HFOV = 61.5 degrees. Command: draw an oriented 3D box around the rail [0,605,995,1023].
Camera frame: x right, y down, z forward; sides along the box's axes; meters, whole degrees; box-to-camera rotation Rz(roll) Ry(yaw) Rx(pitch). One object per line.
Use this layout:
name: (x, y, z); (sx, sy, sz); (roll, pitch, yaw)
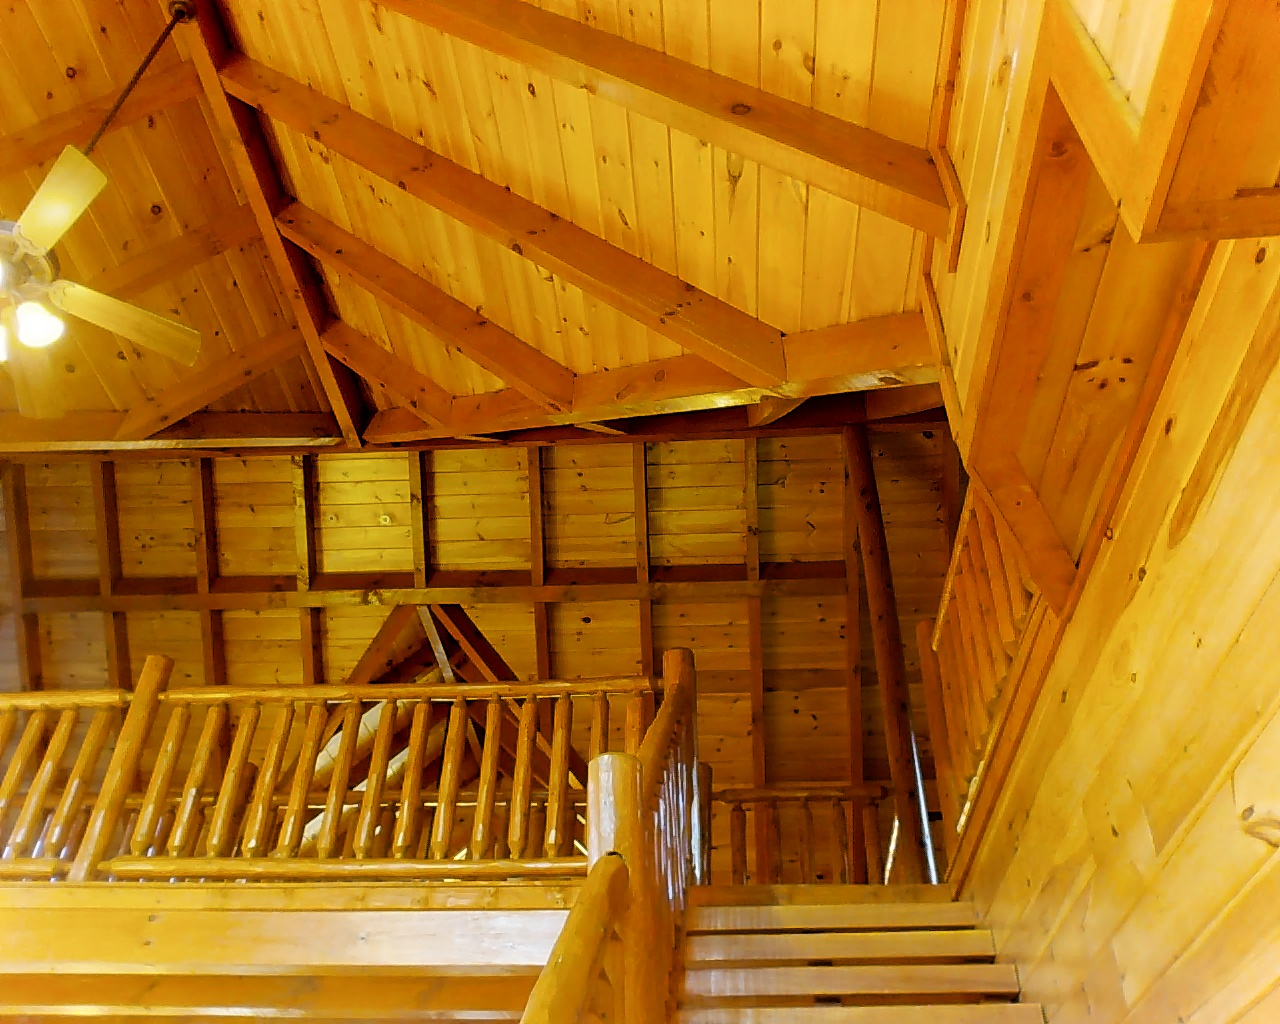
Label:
rail: (-1.860, 1.610, 5.500); (6.680, 1.490, 1.420); (-2, -42, 5)
